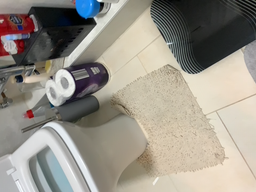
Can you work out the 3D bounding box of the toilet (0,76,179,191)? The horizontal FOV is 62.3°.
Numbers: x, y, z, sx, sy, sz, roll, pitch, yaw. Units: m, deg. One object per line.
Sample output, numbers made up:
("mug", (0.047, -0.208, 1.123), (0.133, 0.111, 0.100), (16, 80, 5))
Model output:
("toilet", (-0.320, 0.330, 0.790), (0.620, 0.790, 0.400), (-37, 82, 40))
